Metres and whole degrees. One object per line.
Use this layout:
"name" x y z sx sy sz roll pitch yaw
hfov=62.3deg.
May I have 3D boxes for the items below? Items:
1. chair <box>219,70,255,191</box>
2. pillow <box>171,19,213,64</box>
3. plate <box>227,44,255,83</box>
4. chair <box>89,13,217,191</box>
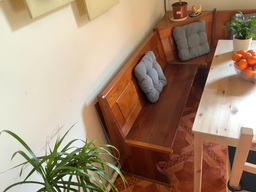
"chair" 0.770 0.390 1.180 0.410 0.910 0.510 6 38 23
"pillow" 0.710 -0.600 2.340 0.390 0.330 0.180 -18 40 3
"plate" 0.790 -0.220 1.410 0.190 0.160 0.220 11 40 29
"chair" 0.460 -0.160 2.180 0.650 0.780 1.890 7 38 23
